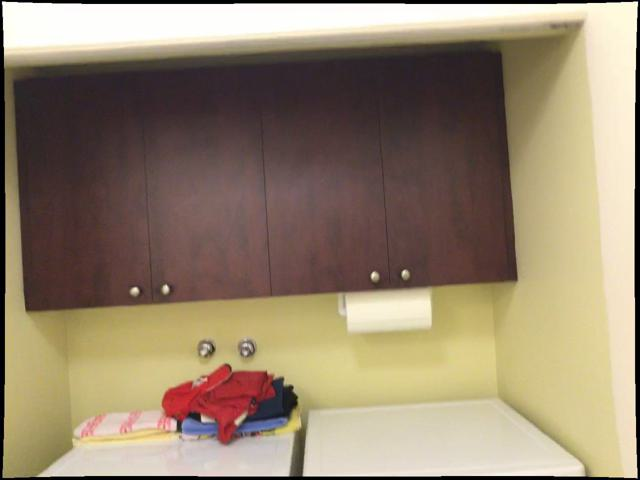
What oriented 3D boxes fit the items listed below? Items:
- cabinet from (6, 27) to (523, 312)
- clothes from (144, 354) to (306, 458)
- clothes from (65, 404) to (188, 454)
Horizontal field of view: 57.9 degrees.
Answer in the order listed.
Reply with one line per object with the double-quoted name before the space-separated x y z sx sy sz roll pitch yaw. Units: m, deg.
"cabinet" -0.180 -0.220 1.890 1.578 0.801 0.160 -3 -1 0
"clothes" -0.280 0.511 1.830 0.450 0.220 0.310 -3 -1 0
"clothes" -0.599 0.591 1.820 0.320 0.080 0.190 -3 -1 0
